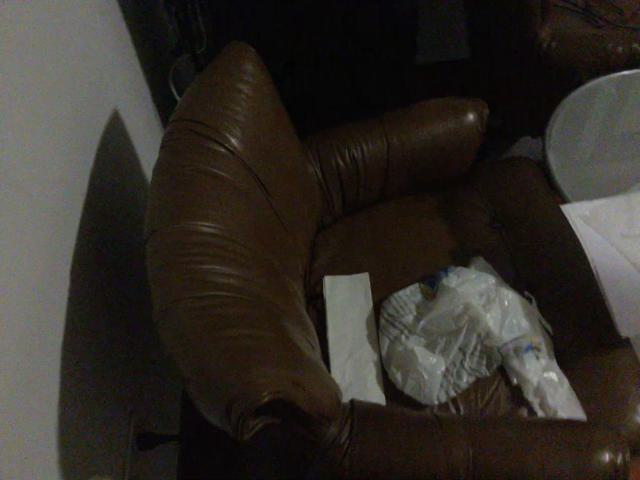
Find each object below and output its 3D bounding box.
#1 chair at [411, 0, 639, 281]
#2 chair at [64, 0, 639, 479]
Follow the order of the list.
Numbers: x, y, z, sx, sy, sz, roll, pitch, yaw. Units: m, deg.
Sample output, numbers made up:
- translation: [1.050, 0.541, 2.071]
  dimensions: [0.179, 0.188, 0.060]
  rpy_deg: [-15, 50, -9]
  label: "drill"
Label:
- translation: [0.640, -0.480, 1.410]
  dimensions: [0.730, 0.820, 0.780]
  rpy_deg: [-4, 51, 4]
  label: "chair"
- translation: [0.150, 0.150, 0.970]
  dimensions: [0.700, 0.810, 0.680]
  rpy_deg: [-9, 50, 1]
  label: "chair"
